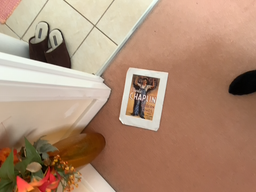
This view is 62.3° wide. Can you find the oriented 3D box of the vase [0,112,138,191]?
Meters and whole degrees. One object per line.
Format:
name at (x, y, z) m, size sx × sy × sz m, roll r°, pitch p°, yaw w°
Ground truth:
vase at (-0.240, 0.270, 0.720) m, size 0.310 × 0.830 × 0.230 m, roll 40°, pitch 99°, yaw 12°
